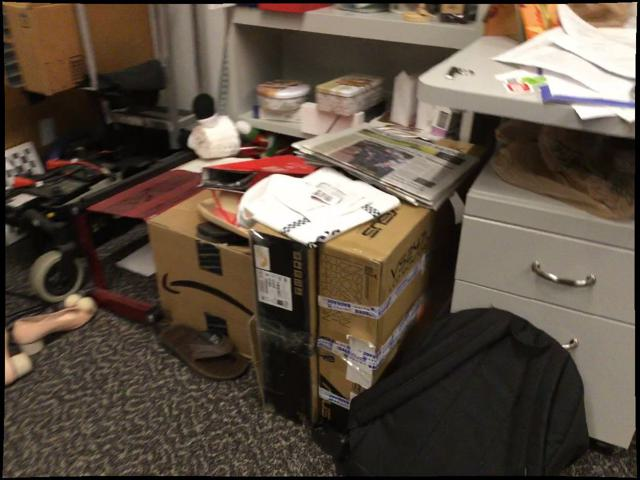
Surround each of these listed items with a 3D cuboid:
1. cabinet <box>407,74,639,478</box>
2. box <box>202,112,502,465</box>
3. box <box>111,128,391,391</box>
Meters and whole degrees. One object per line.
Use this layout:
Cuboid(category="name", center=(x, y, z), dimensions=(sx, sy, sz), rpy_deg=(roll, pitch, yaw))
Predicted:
Cuboid(category="cabinet", center=(0.549, 0.020, 1.310), dimensions=(0.440, 0.580, 0.640), rpy_deg=(17, 35, 25))
Cuboid(category="box", center=(0.100, 0.060, 1.330), dimensions=(0.410, 0.490, 0.580), rpy_deg=(17, 35, 25))
Cuboid(category="box", center=(-0.140, 0.000, 1.550), dimensions=(0.420, 0.350, 0.630), rpy_deg=(17, 35, 25))
